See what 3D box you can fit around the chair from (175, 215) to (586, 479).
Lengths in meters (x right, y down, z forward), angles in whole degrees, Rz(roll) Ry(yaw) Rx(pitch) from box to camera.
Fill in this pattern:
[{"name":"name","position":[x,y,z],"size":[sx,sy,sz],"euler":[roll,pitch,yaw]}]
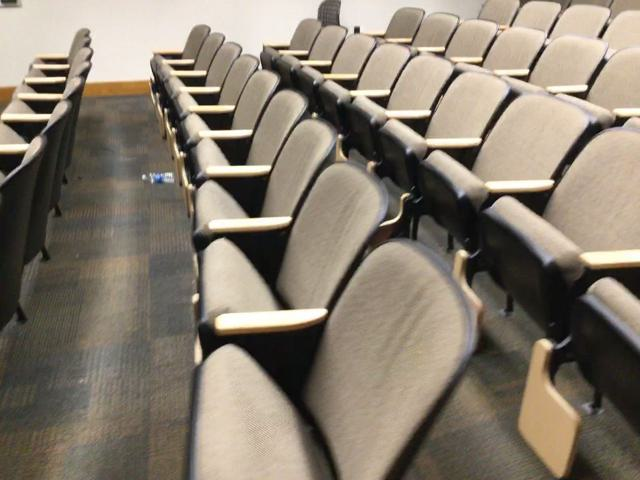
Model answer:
[{"name":"chair","position":[0.000,0.450,1.210],"size":[0.540,0.790,0.610],"euler":[3,25,-16]}]

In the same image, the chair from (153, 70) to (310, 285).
[{"name":"chair","position":[-0.440,-0.300,2.630],"size":[0.550,0.790,0.560],"euler":[-3,27,-22]}]

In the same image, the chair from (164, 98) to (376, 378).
[{"name":"chair","position":[-0.240,-0.030,2.120],"size":[0.560,0.810,0.570],"euler":[-1,27,-22]}]

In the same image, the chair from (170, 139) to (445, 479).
[{"name":"chair","position":[-0.110,0.200,1.670],"size":[0.550,0.810,0.560],"euler":[0,26,-20]}]

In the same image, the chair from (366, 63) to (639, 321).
[{"name":"chair","position":[0.680,-0.200,2.370],"size":[0.600,0.810,0.660],"euler":[4,25,-22]}]

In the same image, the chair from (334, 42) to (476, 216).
[{"name":"chair","position":[0.420,-0.600,3.100],"size":[0.500,0.800,0.450],"euler":[-4,28,-17]}]

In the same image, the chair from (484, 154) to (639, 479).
[{"name":"chair","position":[0.880,0.280,1.400],"size":[0.540,0.800,0.620],"euler":[-1,27,-15]}]

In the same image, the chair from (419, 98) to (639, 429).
[{"name":"chair","position":[0.790,0.060,1.860],"size":[0.530,0.830,0.590],"euler":[2,25,-21]}]

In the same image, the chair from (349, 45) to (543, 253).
[{"name":"chair","position":[0.550,-0.430,2.740],"size":[0.580,0.830,0.490],"euler":[-2,27,-19]}]

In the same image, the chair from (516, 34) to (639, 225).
[{"name":"chair","position":[1.450,-0.560,2.870],"size":[0.540,0.790,0.530],"euler":[-4,28,-17]}]
